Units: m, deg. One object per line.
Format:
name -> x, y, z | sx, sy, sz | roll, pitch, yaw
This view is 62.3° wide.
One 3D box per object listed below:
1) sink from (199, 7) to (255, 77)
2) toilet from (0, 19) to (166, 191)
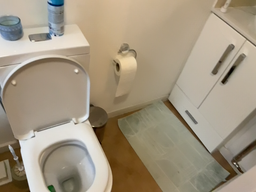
sink -> 0.830, -0.350, 1.350 | 0.440, 0.140, 0.590 | -15, 53, -26
toilet -> -0.310, 0.230, 1.020 | 0.400, 0.890, 0.670 | -16, 55, -27
